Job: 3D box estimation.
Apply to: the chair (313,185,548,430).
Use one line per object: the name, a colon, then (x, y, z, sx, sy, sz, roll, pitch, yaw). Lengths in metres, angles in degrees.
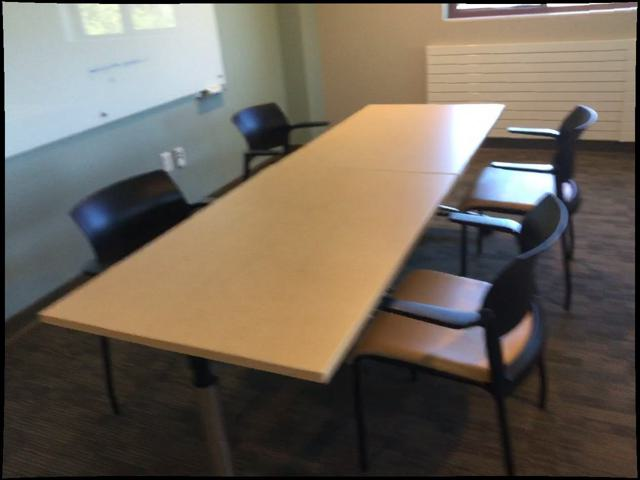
chair: (0.349, 0.140, 1.660, 0.509, 0.391, 0.580, 5, 28, 24)

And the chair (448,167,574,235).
chair: (0.868, -0.190, 2.590, 0.479, 0.110, 0.470, 5, 28, 24)
